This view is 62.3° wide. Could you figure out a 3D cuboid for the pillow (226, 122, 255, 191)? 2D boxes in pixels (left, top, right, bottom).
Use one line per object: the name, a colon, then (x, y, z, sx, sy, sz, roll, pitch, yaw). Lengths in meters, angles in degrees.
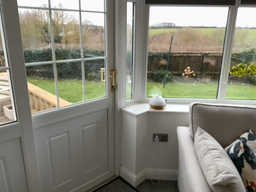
pillow: (0.820, 0.490, 1.490, 0.210, 0.470, 0.390, -2, 34, 27)
